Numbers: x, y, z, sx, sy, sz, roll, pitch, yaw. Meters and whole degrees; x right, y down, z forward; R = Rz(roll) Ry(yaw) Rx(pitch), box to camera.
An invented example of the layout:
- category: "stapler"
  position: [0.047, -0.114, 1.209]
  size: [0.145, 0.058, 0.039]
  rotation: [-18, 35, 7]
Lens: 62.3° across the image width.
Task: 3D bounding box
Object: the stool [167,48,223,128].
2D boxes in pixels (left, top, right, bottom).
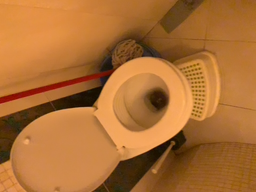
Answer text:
- category: "stool"
  position: [0.350, -0.050, 1.110]
  size: [0.240, 0.150, 0.370]
  rotation: [4, 106, 31]

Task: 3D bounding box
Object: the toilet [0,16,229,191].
- category: "toilet"
  position: [0.020, 0.030, 0.920]
  size: [0.520, 0.850, 0.410]
  rotation: [-42, 81, 34]
